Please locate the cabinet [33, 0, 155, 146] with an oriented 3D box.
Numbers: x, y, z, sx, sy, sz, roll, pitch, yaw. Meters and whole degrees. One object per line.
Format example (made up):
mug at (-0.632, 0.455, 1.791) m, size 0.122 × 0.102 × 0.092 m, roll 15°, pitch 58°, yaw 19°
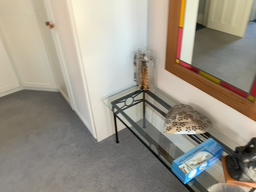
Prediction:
cabinet at (-0.340, -0.820, 1.690) m, size 0.590 × 2.340 × 1.000 m, roll -25°, pitch 43°, yaw -26°
